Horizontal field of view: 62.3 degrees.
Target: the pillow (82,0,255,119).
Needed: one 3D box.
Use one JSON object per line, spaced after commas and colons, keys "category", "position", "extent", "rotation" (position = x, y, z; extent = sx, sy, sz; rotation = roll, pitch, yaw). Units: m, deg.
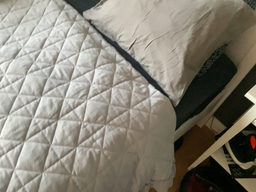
{"category": "pillow", "position": [0.160, -0.310, 0.920], "extent": [0.460, 0.360, 0.570], "rotation": [-32, 65, -30]}
